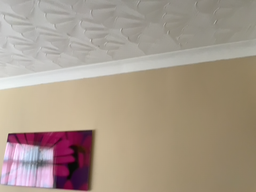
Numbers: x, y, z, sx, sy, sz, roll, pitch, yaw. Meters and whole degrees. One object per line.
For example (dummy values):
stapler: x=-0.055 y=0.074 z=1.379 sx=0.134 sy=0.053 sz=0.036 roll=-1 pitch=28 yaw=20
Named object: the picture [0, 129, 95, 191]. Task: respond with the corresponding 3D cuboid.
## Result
picture: x=-0.750 y=0.570 z=1.900 sx=0.950 sy=0.510 sz=0.050 roll=-5 pitch=-19 yaw=18
